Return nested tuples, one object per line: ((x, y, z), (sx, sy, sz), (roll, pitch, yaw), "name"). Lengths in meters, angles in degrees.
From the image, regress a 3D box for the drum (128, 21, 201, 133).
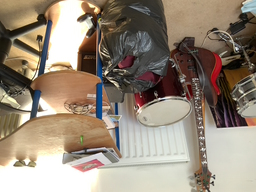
((0.230, -0.120, 1.620), (0.390, 0.630, 0.540), (-5, 152, 2), "drum")

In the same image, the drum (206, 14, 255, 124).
((0.920, -0.180, 1.510), (0.460, 0.580, 0.510), (-5, 152, 2), "drum")

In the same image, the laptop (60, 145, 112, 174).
((-0.260, 0.450, 1.450), (0.270, 0.080, 0.470), (-3, 152, -1), "laptop")
